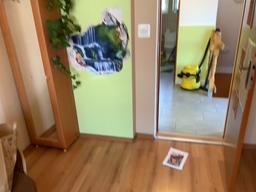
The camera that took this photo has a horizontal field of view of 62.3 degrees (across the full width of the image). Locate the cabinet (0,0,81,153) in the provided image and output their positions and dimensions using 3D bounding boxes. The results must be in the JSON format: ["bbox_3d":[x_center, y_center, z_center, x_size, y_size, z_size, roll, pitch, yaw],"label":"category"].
[{"bbox_3d":[-0.960,-0.270,2.390,0.520,1.890,0.370,4,24,14],"label":"cabinet"}]

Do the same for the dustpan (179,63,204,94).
[{"bbox_3d":[1.280,-0.360,4.280,0.410,0.500,0.320,7,25,20],"label":"dustpan"}]
